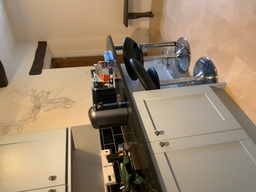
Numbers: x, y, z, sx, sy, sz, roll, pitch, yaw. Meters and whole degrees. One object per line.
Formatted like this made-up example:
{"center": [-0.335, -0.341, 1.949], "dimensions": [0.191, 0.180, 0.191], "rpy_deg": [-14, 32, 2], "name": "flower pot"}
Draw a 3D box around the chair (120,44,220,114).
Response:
{"center": [0.370, -0.190, 2.180], "dimensions": [0.500, 0.820, 0.450], "rpy_deg": [-107, 17, -46], "name": "chair"}
